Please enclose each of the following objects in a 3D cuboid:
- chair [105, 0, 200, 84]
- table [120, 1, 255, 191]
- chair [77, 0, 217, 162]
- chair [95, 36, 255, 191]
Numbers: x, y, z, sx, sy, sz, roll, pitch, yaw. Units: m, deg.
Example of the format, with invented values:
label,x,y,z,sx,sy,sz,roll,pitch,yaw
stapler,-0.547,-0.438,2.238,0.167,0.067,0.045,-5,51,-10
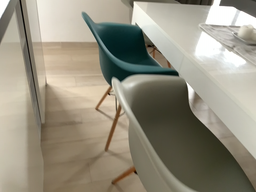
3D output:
label,x,y,z,sx,sy,sz,roll,pitch,yaw
chair,0.170,-0.650,2.130,0.610,0.810,0.600,-8,39,-21
table,0.650,0.040,1.350,0.930,0.760,1.620,-5,39,-18
chair,0.010,-0.140,1.420,0.570,0.810,0.660,-7,39,-20
chair,0.220,0.260,0.920,0.570,0.810,0.650,-7,39,-20
